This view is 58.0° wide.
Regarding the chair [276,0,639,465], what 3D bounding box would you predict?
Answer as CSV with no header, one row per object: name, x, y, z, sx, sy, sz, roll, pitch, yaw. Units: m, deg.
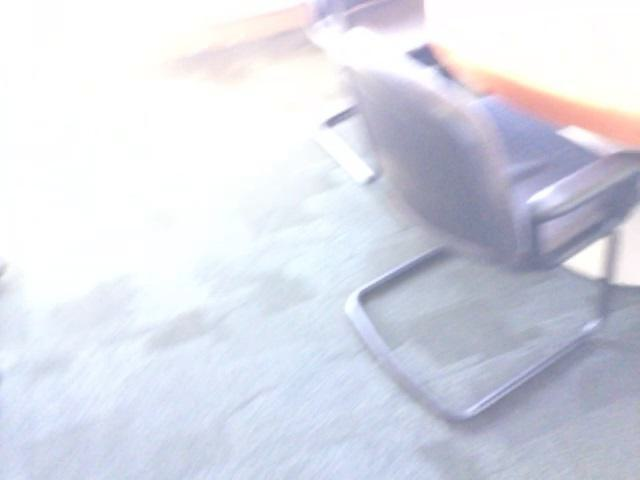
chair,0.350,-0.090,1.300,0.620,0.840,0.650,-17,43,-8
